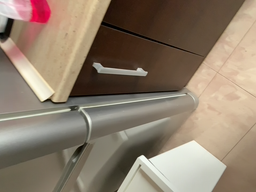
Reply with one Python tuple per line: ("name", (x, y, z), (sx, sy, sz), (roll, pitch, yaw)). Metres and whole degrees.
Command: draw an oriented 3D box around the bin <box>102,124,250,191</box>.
("bin", (0.200, 0.470, 1.000), (0.400, 0.500, 0.460), (43, 116, 27))
